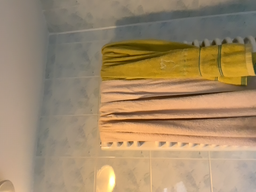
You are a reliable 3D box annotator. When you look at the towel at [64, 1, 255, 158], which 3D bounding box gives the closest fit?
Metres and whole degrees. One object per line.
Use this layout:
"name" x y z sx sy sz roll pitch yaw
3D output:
"towel" 0.280 -0.040 0.860 0.260 0.980 0.550 55 -146 -72
